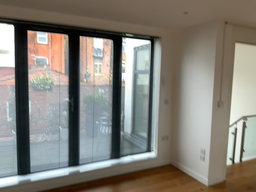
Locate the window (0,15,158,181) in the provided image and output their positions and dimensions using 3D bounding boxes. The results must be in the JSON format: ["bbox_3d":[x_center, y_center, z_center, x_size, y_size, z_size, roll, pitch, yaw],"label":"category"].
[{"bbox_3d":[-0.780,0.030,3.150,2.780,2.090,0.140,-2,7,-27],"label":"window"}]
